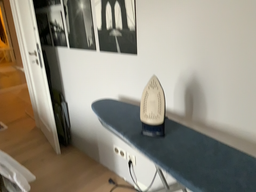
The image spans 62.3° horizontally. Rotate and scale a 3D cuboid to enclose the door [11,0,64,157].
[{"bbox_3d":[-1.020,-0.430,2.280,0.100,2.000,0.910,-15,24,-30],"label":"door"}]
